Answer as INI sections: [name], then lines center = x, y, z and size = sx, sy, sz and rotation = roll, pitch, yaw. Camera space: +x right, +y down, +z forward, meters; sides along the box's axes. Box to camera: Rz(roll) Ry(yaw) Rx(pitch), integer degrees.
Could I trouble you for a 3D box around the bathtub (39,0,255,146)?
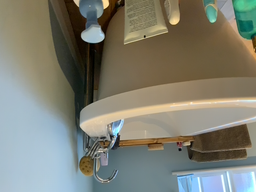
[bathtub]
center = 0.130, -0.070, 1.390
size = 0.840, 0.650, 1.760
rotation = -3, 165, -7
